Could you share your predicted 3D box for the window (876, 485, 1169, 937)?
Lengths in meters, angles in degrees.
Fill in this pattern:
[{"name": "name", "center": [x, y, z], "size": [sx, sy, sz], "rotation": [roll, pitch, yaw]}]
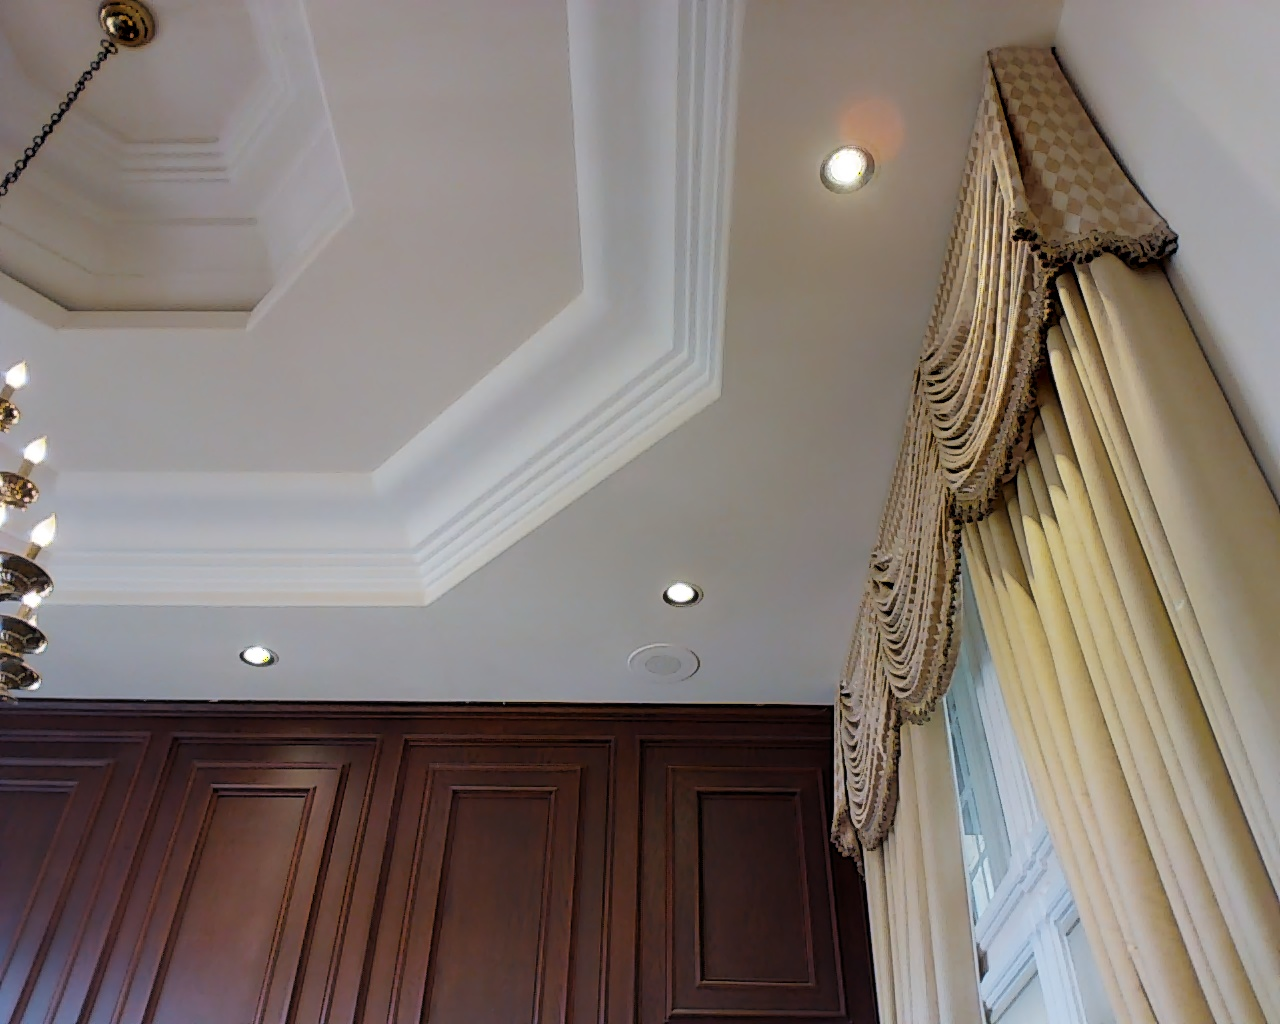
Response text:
[{"name": "window", "center": [1.030, 0.640, 3.160], "size": [0.350, 0.760, 1.300], "rotation": [1, -41, 1]}]
